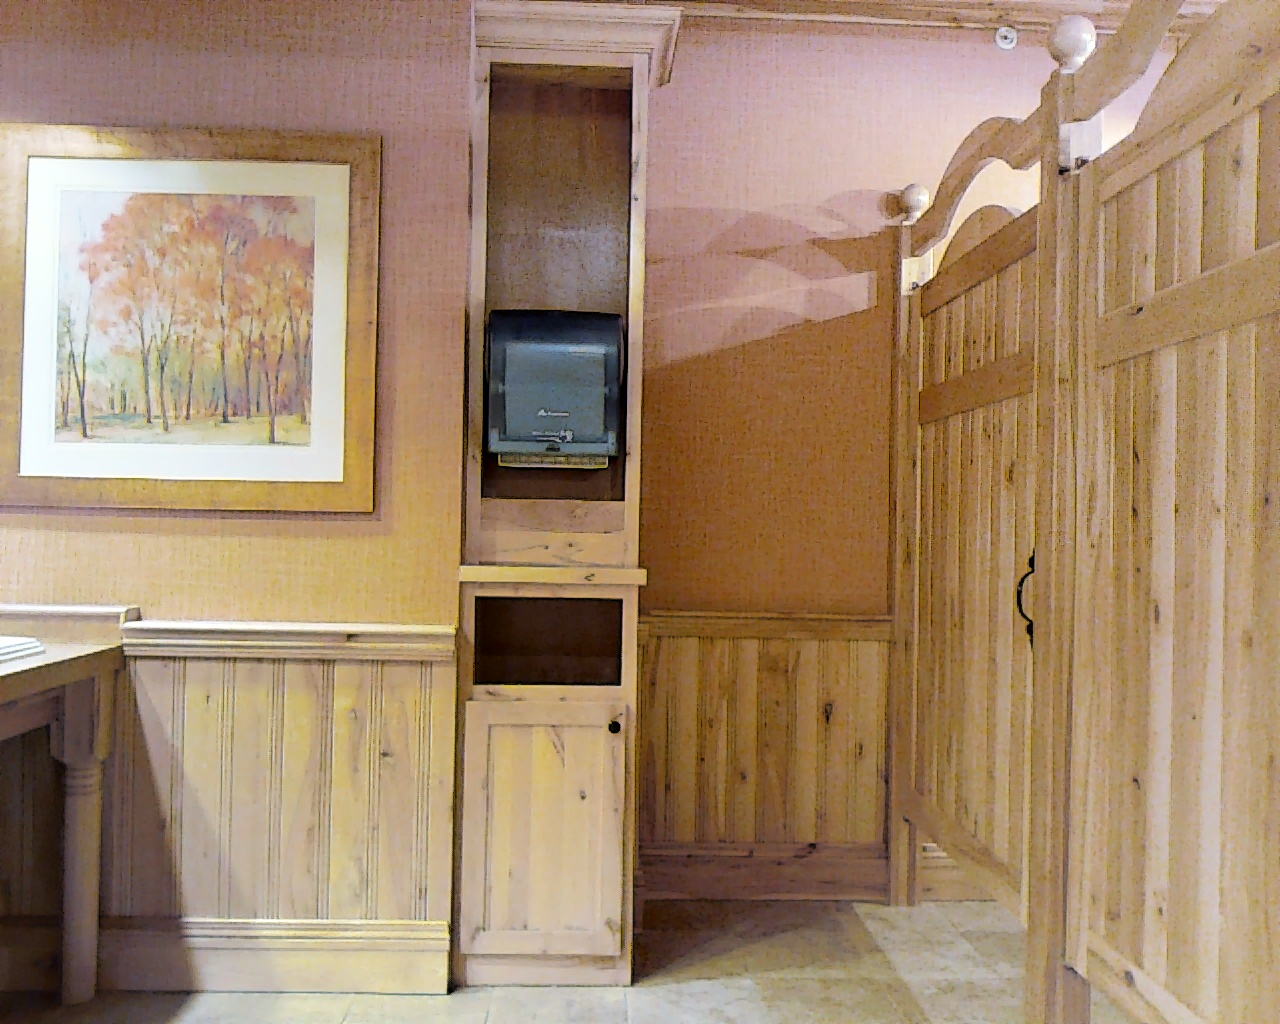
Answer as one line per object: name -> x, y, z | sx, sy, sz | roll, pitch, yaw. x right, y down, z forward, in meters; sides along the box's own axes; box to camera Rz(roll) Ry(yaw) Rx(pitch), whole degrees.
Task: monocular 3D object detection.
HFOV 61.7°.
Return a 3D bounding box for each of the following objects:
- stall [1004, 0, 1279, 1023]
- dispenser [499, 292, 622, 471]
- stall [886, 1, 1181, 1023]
stall -> 0.970, 0.030, 1.820 | 0.210, 2.330, 1.280 | 1, -1, -2
dispenser -> -0.210, -0.340, 2.880 | 0.310, 0.440, 0.260 | 1, -1, -3
stall -> 0.980, 0.070, 2.880 | 0.310, 2.320, 1.170 | 1, -1, -2
